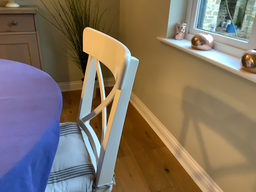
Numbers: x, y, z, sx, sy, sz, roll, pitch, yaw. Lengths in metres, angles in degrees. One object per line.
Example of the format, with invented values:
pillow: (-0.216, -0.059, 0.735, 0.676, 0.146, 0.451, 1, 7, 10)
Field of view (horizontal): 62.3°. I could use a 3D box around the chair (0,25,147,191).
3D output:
chair: (-0.270, 0.240, 0.810, 0.470, 0.910, 0.430, -9, 28, -22)
